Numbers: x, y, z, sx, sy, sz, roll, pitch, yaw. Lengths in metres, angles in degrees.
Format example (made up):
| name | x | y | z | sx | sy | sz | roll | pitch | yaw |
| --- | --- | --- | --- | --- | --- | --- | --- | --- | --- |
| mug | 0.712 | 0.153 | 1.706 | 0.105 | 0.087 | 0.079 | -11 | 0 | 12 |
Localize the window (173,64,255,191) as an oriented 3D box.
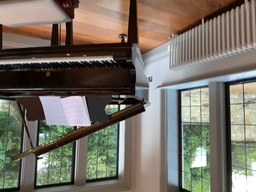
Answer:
| name | x | y | z | sx | sy | sz | roll | pitch | yaw |
| --- | --- | --- | --- | --- | --- | --- | --- | --- | --- |
| window | 1.350 | 0.460 | 2.120 | 0.120 | 1.580 | 2.430 | 5 | 174 | -31 |
